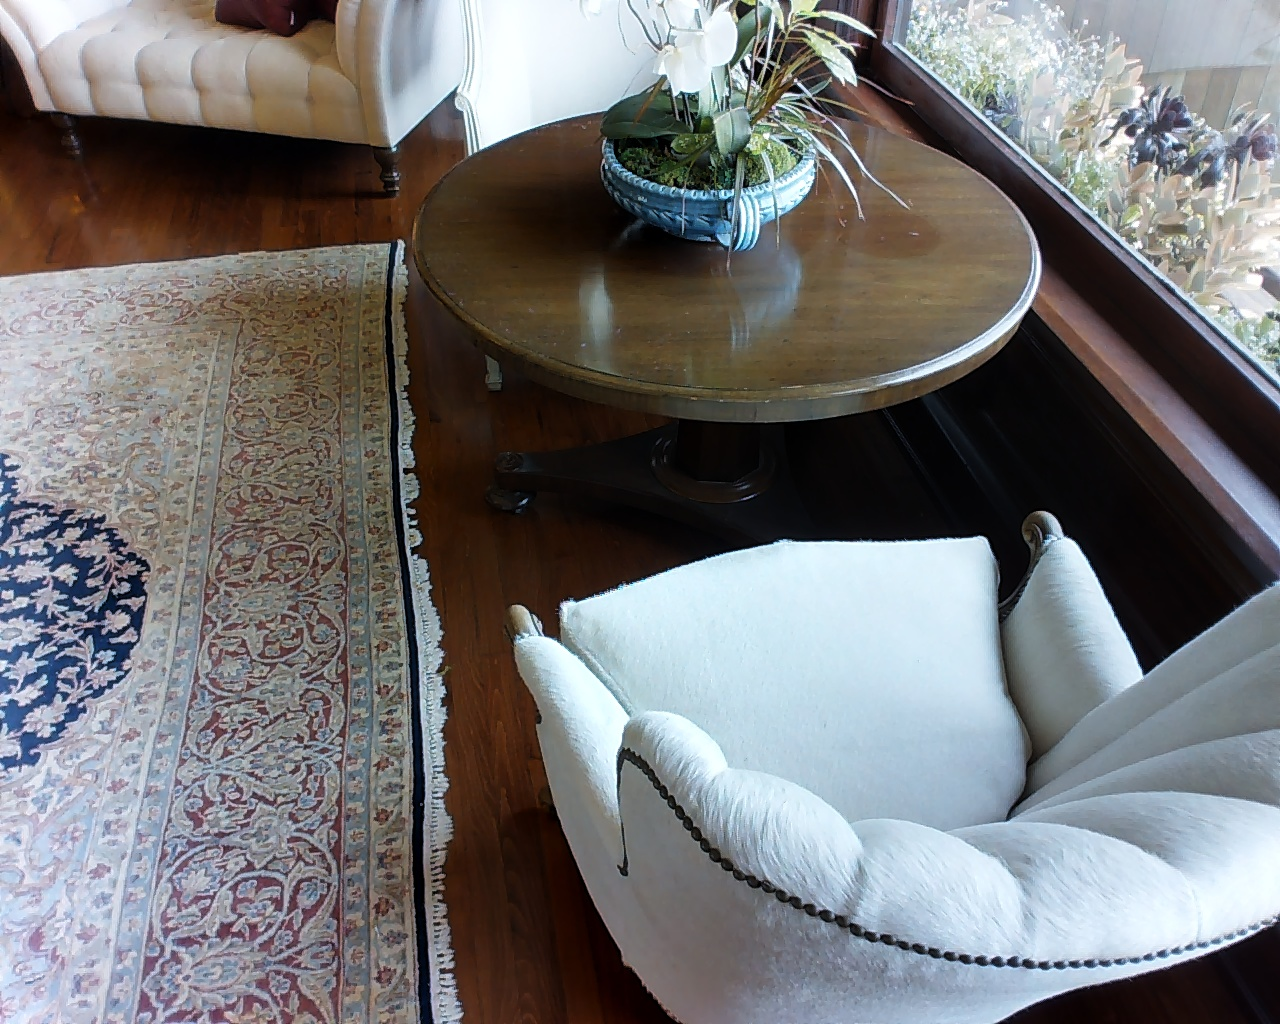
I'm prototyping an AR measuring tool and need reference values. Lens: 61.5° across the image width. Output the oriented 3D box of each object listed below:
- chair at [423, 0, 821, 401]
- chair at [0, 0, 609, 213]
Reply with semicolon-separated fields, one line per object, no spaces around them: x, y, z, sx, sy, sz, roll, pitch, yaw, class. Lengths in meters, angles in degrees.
-0.080;-0.930;2.750;0.790;0.890;0.890;-4;41;-5;chair
-1.240;-1.840;3.720;2.030;0.940;1.140;10;42;10;chair
